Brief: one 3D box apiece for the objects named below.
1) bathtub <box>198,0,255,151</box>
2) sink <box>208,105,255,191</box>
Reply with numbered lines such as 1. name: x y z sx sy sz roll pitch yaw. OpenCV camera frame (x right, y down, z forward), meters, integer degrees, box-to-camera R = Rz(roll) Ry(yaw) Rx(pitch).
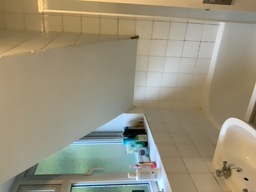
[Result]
1. bathtub: 1.100 -0.470 1.620 0.710 0.550 1.630 -105 18 -65
2. sink: 0.700 0.370 1.160 0.580 0.180 0.420 -105 17 -65
